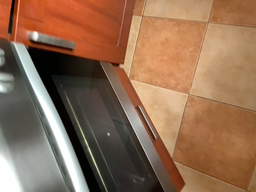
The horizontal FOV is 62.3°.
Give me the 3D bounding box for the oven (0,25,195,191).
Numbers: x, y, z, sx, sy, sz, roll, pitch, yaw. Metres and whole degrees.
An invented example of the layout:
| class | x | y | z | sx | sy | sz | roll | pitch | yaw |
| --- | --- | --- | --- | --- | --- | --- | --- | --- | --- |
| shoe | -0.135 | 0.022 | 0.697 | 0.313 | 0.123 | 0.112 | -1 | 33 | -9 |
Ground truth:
| class | x | y | z | sx | sy | sz | roll | pitch | yaw |
| --- | --- | --- | --- | --- | --- | --- | --- | --- | --- |
| oven | -0.270 | 0.250 | 0.800 | 0.640 | 0.860 | 0.600 | -34 | 77 | 24 |
